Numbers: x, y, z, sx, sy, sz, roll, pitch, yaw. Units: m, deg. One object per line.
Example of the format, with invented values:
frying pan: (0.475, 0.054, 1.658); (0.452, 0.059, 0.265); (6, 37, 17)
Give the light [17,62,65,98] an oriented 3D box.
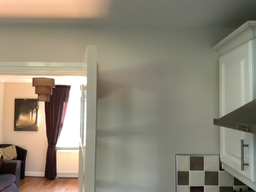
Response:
light: (-1.340, -0.270, 3.370); (0.610, 0.510, 0.330); (-97, -170, -61)
